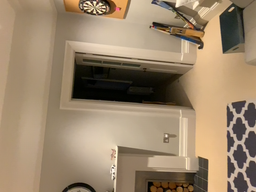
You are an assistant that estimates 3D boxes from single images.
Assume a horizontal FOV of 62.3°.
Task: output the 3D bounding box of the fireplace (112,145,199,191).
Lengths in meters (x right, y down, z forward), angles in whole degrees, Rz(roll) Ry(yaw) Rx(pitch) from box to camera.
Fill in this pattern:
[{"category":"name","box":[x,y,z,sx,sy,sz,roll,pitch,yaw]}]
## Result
[{"category":"fireplace","box":[0.390,1.650,3.160,0.220,1.260,1.710,145,129,-79]}]
